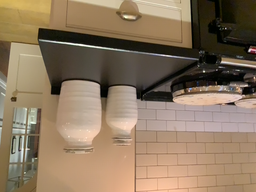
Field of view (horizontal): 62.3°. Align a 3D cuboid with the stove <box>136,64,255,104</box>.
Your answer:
[{"bbox_3d":[0.620,-0.030,1.270,0.970,0.030,0.690,3,170,-16],"label":"stove"}]
